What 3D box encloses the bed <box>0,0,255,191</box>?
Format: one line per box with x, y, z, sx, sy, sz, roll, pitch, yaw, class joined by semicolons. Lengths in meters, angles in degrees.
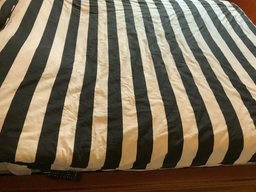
0.100;-0.220;1.660;2.220;0.480;1.820;-2;47;-6;bed
